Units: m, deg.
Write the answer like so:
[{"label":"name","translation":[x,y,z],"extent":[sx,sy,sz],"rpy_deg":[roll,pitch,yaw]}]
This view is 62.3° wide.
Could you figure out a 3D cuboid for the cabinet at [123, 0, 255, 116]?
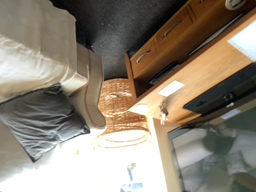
[{"label":"cabinet","translation":[0.490,-0.340,1.310],"extent":[0.550,0.490,0.960],"rpy_deg":[18,142,-34]}]

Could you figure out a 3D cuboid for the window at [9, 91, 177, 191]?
[{"label":"window","translation":[-0.260,1.070,1.680],"extent":[1.350,2.290,0.300],"rpy_deg":[-7,147,0]}]
